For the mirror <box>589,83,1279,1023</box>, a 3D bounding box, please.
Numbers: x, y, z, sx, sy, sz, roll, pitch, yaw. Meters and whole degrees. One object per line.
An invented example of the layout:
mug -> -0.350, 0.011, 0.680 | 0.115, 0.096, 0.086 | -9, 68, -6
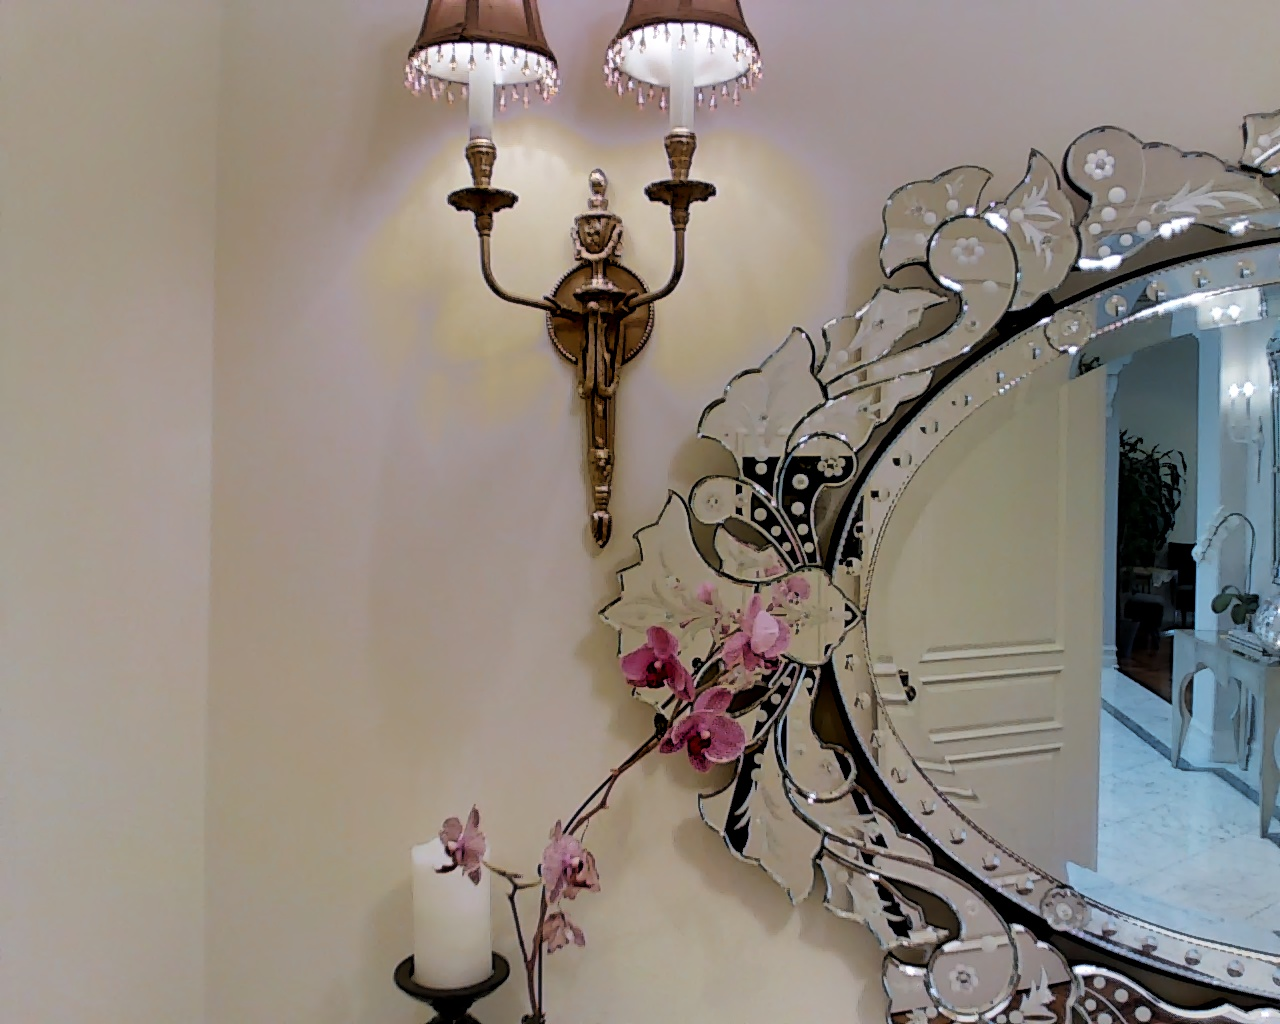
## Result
mirror -> 0.730, 0.100, 0.980 | 1.550, 0.950, 0.140 | 0, 0, 9

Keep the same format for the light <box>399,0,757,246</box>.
light -> -0.050, -0.410, 1.010 | 0.310, 0.270, 0.150 | 0, 0, 9
